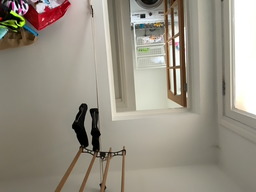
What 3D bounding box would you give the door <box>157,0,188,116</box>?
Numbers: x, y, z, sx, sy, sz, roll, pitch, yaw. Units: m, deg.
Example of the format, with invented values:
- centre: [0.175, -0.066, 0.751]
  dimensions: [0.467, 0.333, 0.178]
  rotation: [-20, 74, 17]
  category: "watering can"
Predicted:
- centre: [0.510, -0.840, 2.570]
  dimensions: [0.140, 2.050, 0.690]
  rotation: [-4, -173, -3]
  category: "door"
